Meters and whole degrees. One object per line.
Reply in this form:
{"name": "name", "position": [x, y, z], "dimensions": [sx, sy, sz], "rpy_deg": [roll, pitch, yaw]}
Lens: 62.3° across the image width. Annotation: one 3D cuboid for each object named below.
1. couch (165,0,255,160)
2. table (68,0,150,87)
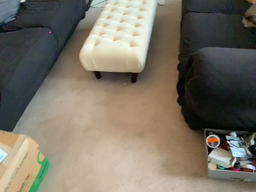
{"name": "couch", "position": [0.870, -0.640, 1.510], "dimensions": [1.110, 0.890, 1.910], "rpy_deg": [2, 50, 11]}
{"name": "table", "position": [-0.100, -0.600, 1.990], "dimensions": [0.500, 0.360, 1.050], "rpy_deg": [2, 50, 11]}
